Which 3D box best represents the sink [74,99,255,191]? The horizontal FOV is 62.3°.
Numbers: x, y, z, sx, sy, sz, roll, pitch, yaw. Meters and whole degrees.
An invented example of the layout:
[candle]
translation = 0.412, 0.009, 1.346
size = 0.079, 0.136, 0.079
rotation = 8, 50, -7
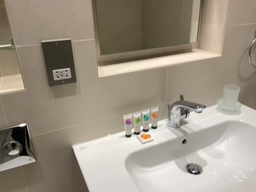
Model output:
[sink]
translation = 0.270, 0.240, 0.800
size = 0.830, 0.140, 0.450
rotation = -12, 26, -22
